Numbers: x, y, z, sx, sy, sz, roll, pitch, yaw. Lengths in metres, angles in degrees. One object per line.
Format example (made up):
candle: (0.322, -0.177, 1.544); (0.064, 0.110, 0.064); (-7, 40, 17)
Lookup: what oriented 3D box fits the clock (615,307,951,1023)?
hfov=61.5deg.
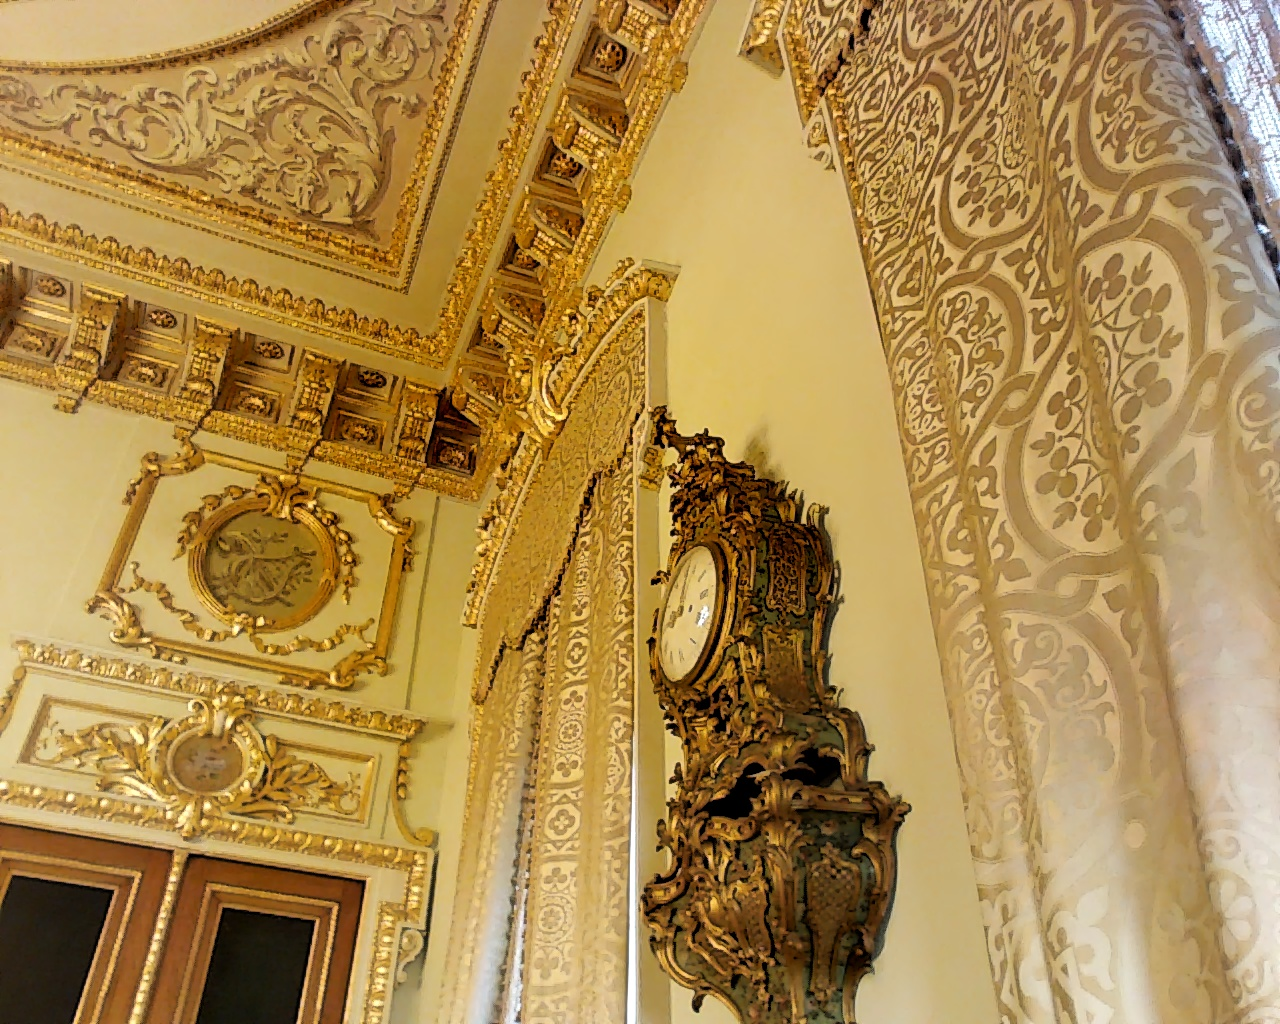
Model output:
clock: (0.180, 0.340, 1.880); (0.230, 1.431, 0.570); (15, -43, -16)
